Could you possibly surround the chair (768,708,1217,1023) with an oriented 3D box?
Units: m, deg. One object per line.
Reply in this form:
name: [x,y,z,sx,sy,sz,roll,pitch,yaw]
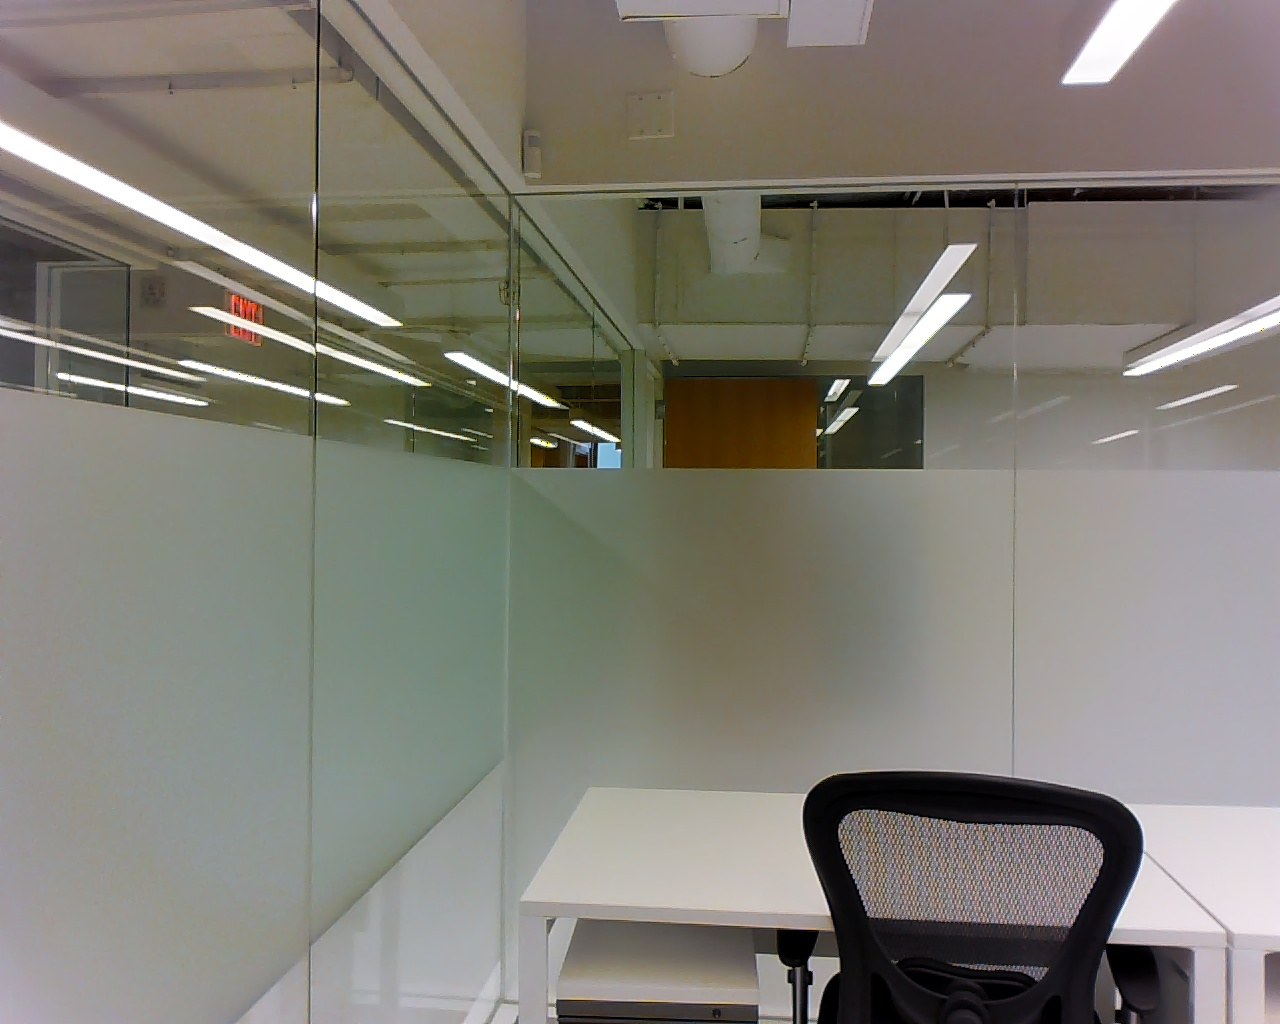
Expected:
chair: [0.570,0.930,1.930,0.660,1.040,0.540,1,0,6]
